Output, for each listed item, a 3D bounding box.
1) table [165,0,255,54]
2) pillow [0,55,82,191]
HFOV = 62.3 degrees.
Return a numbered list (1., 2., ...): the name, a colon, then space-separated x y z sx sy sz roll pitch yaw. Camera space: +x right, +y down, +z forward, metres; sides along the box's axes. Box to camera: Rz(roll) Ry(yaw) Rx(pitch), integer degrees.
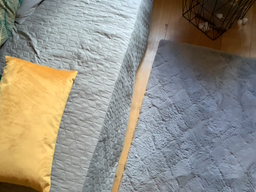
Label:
1. table: 0.580 -0.660 1.290 0.490 0.460 0.430 -36 71 -10
2. pillow: -0.400 0.110 0.790 0.320 0.170 0.480 6 69 6
